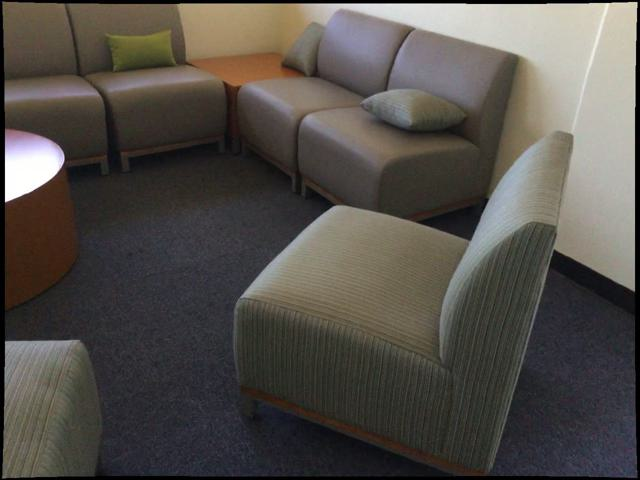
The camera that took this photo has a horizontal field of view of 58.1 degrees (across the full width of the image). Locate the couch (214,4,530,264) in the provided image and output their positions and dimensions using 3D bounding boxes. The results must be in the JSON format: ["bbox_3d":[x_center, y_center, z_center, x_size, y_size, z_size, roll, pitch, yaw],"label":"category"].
[{"bbox_3d":[0.160,-0.682,3.090,0.819,0.842,1.459,-18,37,-34],"label":"couch"}]

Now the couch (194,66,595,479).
[{"bbox_3d":[0.219,0.090,1.690,0.838,0.902,0.760,16,32,18],"label":"couch"}]

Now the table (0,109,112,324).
[{"bbox_3d":[-1.556,-0.100,2.340,0.979,0.431,1.109,-18,37,-34],"label":"table"}]

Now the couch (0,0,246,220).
[{"bbox_3d":[-1.616,-0.782,3.140,2.207,0.892,0.990,-18,37,-34],"label":"couch"}]
